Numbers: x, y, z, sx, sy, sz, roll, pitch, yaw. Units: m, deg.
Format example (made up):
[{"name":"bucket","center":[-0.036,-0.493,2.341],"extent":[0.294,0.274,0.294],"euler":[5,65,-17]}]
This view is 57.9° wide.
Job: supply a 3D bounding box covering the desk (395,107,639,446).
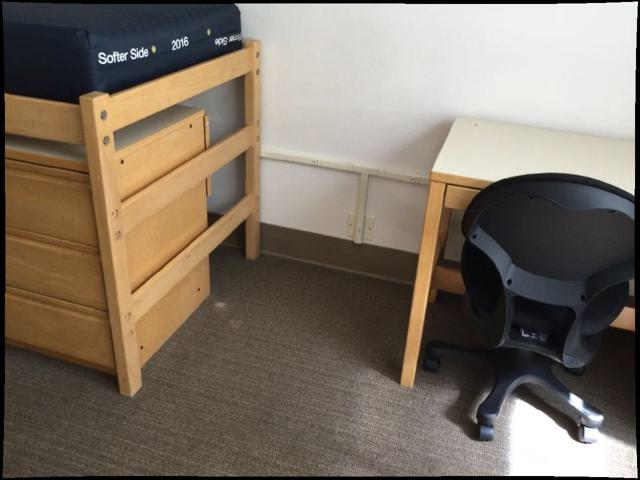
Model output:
[{"name":"desk","center":[0.989,0.120,1.840],"extent":[1.309,0.741,0.670],"euler":[12,30,14]}]
